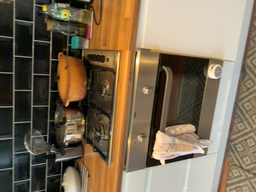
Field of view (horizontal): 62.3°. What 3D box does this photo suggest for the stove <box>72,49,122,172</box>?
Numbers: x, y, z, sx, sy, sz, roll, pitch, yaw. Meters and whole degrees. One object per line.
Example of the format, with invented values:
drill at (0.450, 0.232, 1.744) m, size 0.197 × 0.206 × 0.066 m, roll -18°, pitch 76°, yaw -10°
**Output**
stove at (-0.210, 0.030, 1.220) m, size 0.560 × 0.030 × 0.570 m, roll 22°, pitch 109°, yaw 56°
